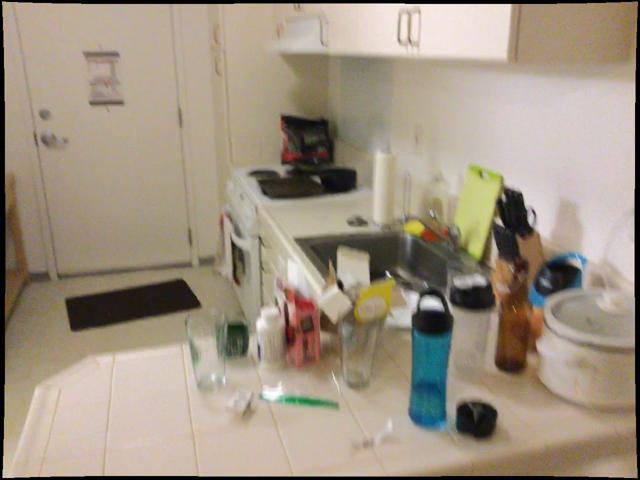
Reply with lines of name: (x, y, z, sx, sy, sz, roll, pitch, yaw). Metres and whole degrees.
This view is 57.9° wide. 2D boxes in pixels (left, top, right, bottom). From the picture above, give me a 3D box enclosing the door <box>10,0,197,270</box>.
door: (-1.329, -0.741, 3.700, 0.949, 1.872, 0.120, -5, 20, -16)
